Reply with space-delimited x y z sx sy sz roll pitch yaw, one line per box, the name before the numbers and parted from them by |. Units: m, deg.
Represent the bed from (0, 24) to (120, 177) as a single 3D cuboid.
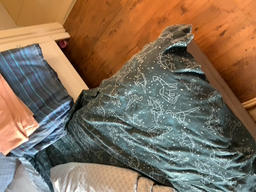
bed | -0.830 0.100 1.710 1.080 0.940 0.640 -37 87 42
